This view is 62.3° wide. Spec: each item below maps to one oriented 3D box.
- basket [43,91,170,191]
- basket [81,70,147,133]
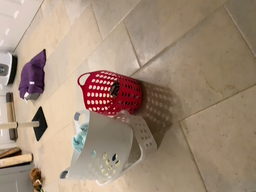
[{"bbox_3d":[-0.170,0.350,1.490,0.560,0.540,0.480,-52,55,28],"label":"basket"},{"bbox_3d":[-0.120,0.030,1.660,0.410,0.250,0.380,17,99,43],"label":"basket"}]
